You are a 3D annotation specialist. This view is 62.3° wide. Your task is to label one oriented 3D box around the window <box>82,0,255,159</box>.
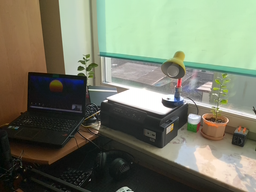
[{"bbox_3d":[0.300,-0.520,1.180,1.460,1.550,0.120,14,23,33],"label":"window"}]
